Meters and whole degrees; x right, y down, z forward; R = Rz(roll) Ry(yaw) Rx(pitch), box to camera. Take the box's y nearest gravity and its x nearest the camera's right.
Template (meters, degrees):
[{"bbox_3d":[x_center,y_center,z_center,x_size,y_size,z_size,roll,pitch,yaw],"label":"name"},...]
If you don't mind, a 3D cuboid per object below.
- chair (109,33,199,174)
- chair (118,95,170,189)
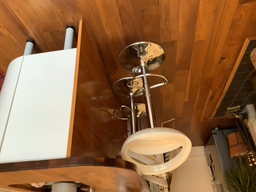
[{"bbox_3d":[0.140,0.050,1.560,0.470,0.900,0.420,-6,151,3],"label":"chair"},{"bbox_3d":[0.170,0.520,2.390,0.380,0.910,0.430,-13,150,15],"label":"chair"}]
